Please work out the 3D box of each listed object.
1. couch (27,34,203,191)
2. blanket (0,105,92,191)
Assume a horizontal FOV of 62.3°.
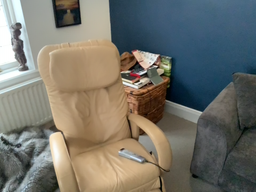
[{"bbox_3d":[-0.210,0.250,1.600,0.730,1.130,1.150,-13,30,-22],"label":"couch"},{"bbox_3d":[-0.990,0.570,1.840,0.720,0.350,1.120,20,34,33],"label":"blanket"}]
